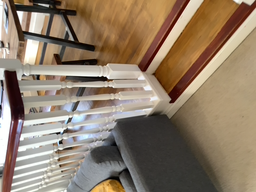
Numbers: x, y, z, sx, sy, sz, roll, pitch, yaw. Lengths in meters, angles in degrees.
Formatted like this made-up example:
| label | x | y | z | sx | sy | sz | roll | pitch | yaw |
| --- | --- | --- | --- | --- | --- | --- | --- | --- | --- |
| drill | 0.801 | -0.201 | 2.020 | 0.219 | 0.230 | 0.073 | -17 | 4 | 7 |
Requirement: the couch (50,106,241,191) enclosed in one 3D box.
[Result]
| label | x | y | z | sx | sy | sz | roll | pitch | yaw |
| --- | --- | --- | --- | --- | --- | --- | --- | --- | --- |
| couch | -0.080 | 1.050 | 1.860 | 1.810 | 0.820 | 0.940 | -56 | 51 | 38 |
